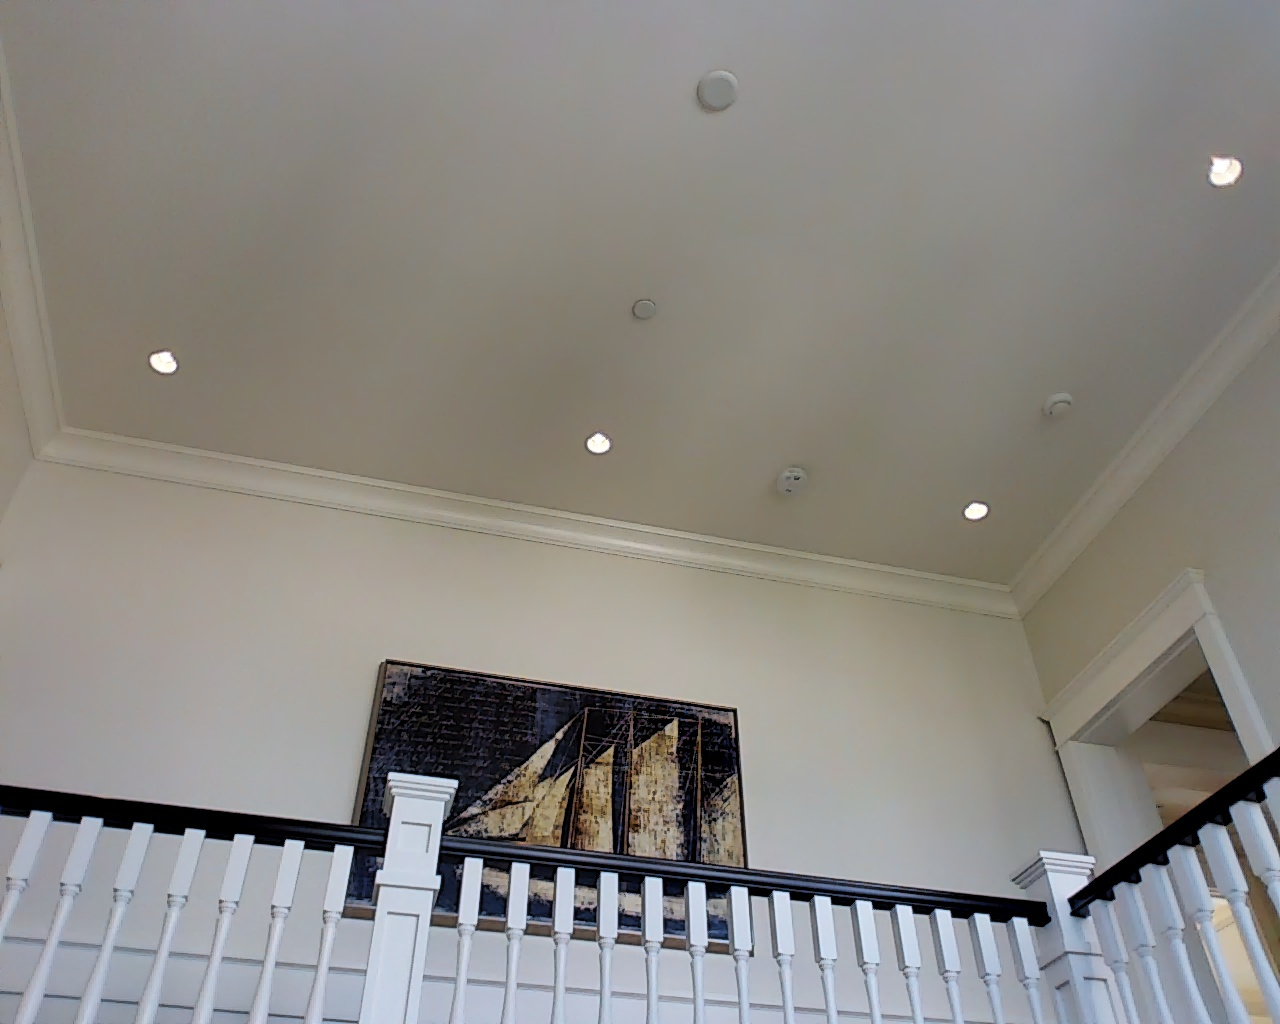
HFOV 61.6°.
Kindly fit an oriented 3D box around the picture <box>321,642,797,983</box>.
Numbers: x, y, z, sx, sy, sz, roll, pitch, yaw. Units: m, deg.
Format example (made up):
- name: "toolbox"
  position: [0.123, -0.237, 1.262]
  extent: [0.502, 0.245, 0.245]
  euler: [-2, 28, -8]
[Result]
- name: "picture"
  position: [-0.260, 1.171, 4.320]
  extent: [1.759, 1.220, 0.050]
  euler: [10, -43, -10]
